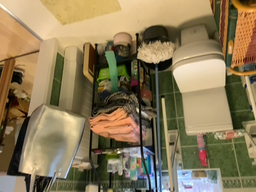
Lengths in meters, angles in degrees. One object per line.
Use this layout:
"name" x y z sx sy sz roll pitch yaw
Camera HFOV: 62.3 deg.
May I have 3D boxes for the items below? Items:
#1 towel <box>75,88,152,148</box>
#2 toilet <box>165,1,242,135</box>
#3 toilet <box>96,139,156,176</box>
"towel" -0.080 0.220 1.740 0.400 0.290 0.600 -9 155 19
"toilet" 0.560 -0.160 1.640 0.370 0.770 0.620 -9 155 19
"toilet" 0.000 0.530 1.780 0.410 0.240 0.370 -7 156 14
